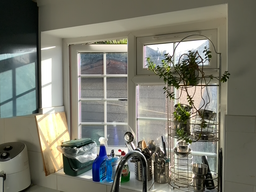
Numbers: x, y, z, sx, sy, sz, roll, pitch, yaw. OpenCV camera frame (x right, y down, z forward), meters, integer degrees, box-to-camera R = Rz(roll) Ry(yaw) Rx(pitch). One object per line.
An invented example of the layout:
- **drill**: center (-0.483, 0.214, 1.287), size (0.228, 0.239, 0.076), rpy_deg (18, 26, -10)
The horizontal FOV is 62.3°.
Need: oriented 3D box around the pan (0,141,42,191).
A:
- **pan**: center (-0.800, 0.500, 1.480), size (0.250, 0.290, 0.260), rpy_deg (1, 2, 26)
